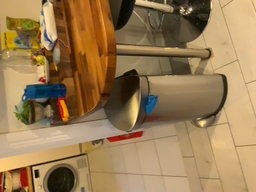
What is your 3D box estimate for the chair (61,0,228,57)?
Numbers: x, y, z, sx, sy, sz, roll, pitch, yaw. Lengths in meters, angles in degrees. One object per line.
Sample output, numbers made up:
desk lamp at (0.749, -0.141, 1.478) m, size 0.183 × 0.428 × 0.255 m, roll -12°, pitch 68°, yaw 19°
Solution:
chair at (0.080, -0.580, 1.300) m, size 0.530 × 0.820 × 0.510 m, roll -18°, pitch 79°, yaw 57°
